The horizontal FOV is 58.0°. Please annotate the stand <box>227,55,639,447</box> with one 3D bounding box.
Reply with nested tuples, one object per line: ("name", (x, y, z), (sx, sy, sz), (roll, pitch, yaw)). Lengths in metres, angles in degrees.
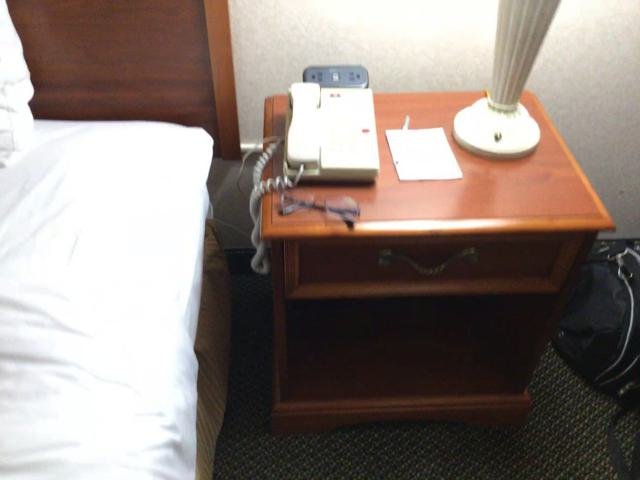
("stand", (0.160, 0.030, 1.220), (0.610, 0.660, 0.480), (-1, 41, -2))
